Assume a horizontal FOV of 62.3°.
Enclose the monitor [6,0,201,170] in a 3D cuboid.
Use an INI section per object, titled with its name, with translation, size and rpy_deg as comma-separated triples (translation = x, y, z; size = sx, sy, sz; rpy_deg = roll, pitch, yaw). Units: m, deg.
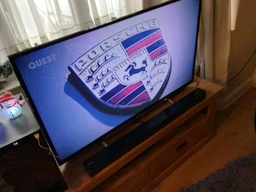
[monitor]
translation = 0.030, -0.120, 1.170
size = 1.080, 0.620, 0.050
rpy_deg = -30, 41, -28
